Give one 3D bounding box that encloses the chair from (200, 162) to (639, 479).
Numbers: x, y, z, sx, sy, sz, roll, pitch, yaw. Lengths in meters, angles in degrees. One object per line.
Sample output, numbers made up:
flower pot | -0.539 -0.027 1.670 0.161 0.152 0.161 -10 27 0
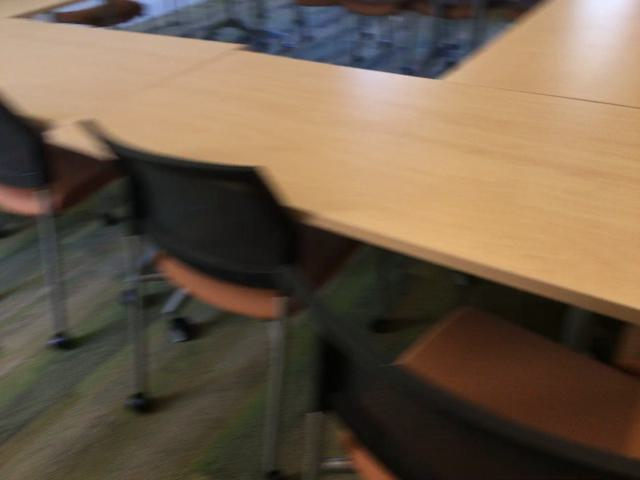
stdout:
chair | 0.290 0.370 1.060 0.560 0.690 0.730 18 38 28
